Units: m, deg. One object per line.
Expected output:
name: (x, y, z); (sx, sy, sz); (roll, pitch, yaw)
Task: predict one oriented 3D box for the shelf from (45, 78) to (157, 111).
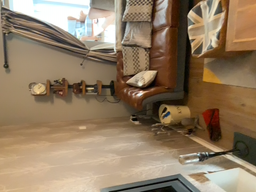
shelf: (-0.350, -0.050, 3.200); (0.180, 1.660, 0.420); (-155, 65, -67)
